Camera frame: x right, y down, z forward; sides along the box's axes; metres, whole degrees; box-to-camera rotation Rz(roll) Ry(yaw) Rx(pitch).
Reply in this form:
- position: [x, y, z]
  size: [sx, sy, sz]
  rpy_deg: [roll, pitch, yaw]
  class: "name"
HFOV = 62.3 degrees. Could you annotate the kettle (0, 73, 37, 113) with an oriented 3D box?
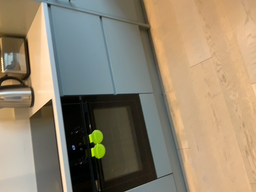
- position: [-0.810, -0.020, 1.500]
  size: [0.190, 0.240, 0.230]
  rpy_deg: [-26, 72, 49]
  class: "kettle"
